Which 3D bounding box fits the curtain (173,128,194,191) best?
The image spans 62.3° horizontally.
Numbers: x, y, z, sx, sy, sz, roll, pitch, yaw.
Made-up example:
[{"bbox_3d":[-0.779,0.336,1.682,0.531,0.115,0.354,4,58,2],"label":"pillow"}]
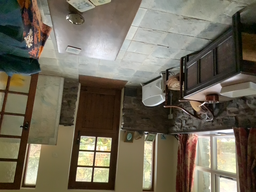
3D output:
[{"bbox_3d":[0.980,1.220,3.720,0.220,1.280,0.330,7,167,-11],"label":"curtain"}]
